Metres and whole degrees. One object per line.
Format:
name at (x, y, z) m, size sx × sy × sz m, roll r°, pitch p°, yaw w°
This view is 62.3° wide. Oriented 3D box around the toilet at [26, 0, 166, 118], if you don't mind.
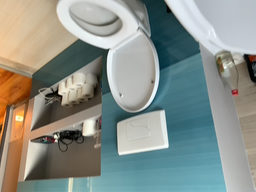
toilet at (-0.140, -0.360, 1.120) m, size 0.370 × 0.810 × 0.520 m, roll -20°, pitch 153°, yaw 39°
